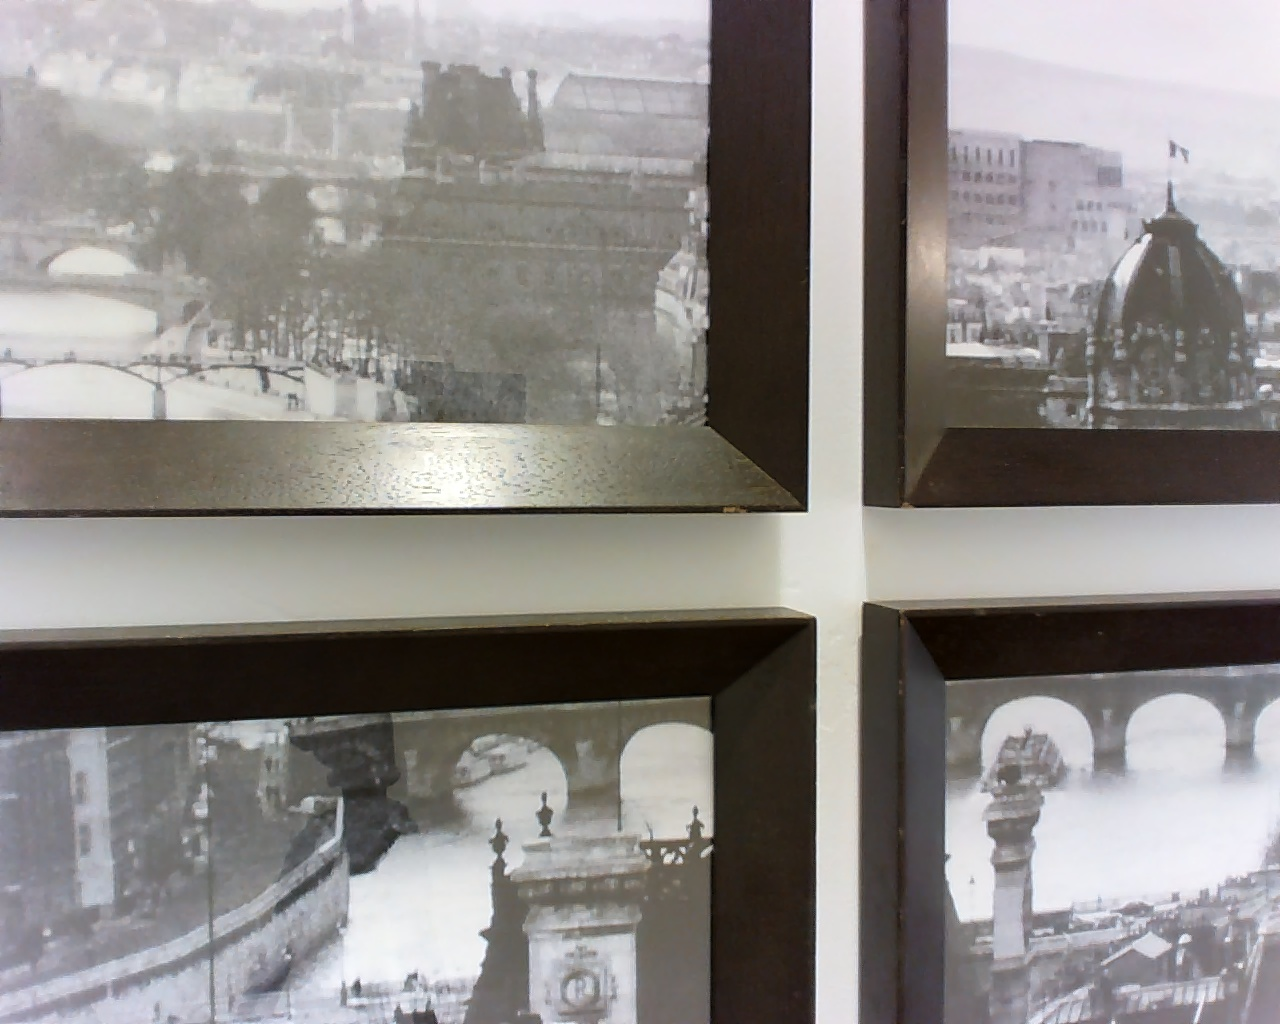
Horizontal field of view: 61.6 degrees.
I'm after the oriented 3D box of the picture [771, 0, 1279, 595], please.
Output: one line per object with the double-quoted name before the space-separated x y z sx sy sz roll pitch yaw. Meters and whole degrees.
"picture" 0.340 -0.290 0.550 0.560 0.640 0.060 -1 0 -14
